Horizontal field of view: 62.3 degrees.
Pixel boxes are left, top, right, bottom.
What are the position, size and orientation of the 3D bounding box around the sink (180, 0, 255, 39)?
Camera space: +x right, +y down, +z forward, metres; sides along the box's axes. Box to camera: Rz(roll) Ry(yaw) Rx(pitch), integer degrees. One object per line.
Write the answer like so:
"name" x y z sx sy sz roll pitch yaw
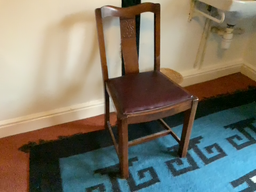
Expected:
"sink" 0.740 -0.620 1.490 0.570 0.240 0.400 -11 38 -17
